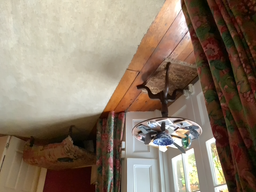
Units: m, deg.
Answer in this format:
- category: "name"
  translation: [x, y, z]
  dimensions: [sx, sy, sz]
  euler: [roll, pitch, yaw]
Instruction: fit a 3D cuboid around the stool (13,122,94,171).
- category: "stool"
  translation: [-1.160, 0.840, 3.370]
  dimensions: [1.050, 0.450, 0.600]
  euler: [-16, 145, 24]
